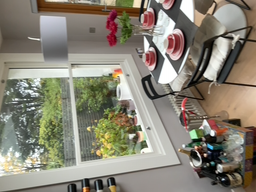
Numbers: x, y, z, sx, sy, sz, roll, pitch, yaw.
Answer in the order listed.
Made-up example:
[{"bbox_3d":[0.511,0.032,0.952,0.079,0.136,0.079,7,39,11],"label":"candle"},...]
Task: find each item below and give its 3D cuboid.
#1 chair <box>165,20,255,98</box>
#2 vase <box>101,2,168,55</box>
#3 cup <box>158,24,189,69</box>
[{"bbox_3d":[0.820,-0.340,1.900,0.510,0.730,0.470,-113,26,-48],"label":"chair"},{"bbox_3d":[0.040,-0.670,2.130,0.350,0.540,0.360,104,156,-44],"label":"vase"},{"bbox_3d":[0.380,-0.430,1.840,0.280,0.080,0.280,-110,24,-43],"label":"cup"}]
